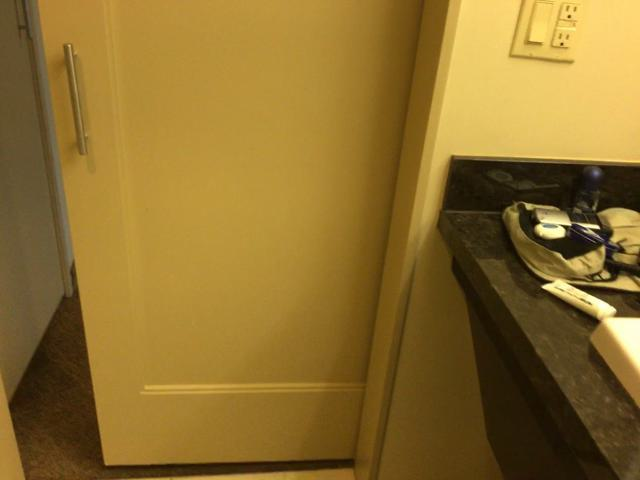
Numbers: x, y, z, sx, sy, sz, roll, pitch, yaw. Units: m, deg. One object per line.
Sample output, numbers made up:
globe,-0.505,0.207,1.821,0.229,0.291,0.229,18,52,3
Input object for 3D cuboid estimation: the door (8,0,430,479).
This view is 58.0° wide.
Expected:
door,-0.200,0.020,1.280,0.700,1.360,0.120,1,30,-7

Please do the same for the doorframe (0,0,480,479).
doorframe,-0.260,0.070,1.170,0.910,1.350,0.190,1,30,-7

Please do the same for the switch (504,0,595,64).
switch,0.370,-0.350,0.930,0.120,0.120,0.020,1,30,-7
